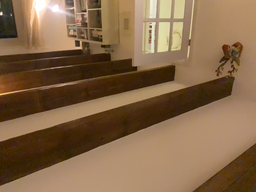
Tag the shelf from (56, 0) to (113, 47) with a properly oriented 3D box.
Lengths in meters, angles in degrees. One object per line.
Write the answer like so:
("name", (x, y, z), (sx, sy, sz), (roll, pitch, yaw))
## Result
("shelf", (-0.850, -1.450, 3.960), (0.350, 0.880, 1.480), (-15, -155, -36))
